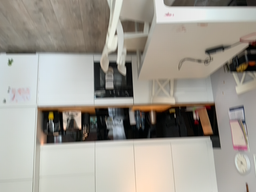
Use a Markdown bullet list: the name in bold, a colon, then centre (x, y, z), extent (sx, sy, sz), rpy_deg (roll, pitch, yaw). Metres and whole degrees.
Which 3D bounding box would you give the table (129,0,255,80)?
- **table**: centre (0.480, -0.700, 1.960), extent (0.840, 0.760, 1.210), rpy_deg (-2, 168, -4)
